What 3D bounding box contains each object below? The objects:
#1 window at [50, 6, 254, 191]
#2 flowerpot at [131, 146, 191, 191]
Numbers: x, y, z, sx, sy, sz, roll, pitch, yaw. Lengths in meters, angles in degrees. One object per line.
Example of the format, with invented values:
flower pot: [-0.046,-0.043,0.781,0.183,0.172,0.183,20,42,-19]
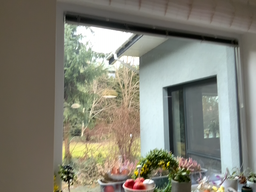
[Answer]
window: [0.330,0.090,1.800,1.840,1.410,0.080,1,-5,-21]
flowerpot: [0.240,0.640,1.640,0.300,0.420,0.390,2,-5,-22]
